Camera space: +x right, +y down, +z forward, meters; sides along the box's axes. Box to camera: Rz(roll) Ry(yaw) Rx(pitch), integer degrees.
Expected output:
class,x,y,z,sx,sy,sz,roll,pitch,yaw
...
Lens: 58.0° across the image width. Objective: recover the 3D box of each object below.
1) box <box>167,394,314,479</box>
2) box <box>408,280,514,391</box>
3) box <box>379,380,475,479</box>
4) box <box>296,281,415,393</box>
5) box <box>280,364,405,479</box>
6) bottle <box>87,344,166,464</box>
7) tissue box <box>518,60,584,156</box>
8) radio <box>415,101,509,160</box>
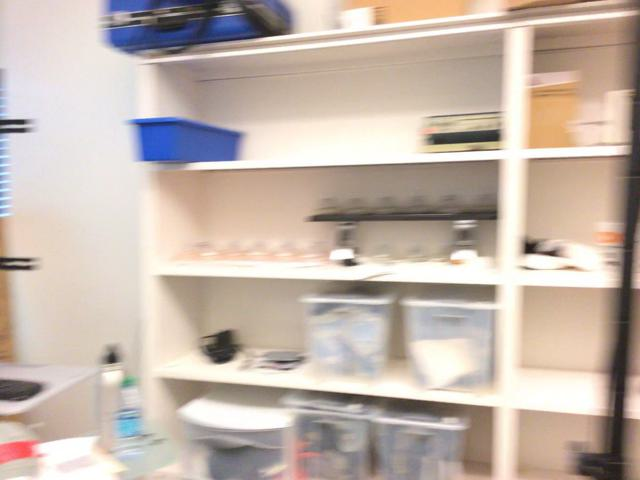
class,x,y,z,sx,sy,sz,roll,pitch,yaw
box,-0.270,0.720,2.050,0.400,0.240,0.320,-3,1,19
box,0.460,0.290,1.840,0.280,0.280,0.340,-3,1,19
box,0.360,0.660,1.890,0.240,0.310,0.350,-3,1,19
box,0.130,0.310,1.940,0.300,0.300,0.340,-3,1,19
box,0.090,0.640,1.980,0.320,0.340,0.350,-3,1,19
bottle,-0.490,0.410,1.470,0.130,0.270,0.110,-3,1,20
tissue box,0.710,-0.400,1.790,0.170,0.250,0.140,-3,1,19
radio,0.460,-0.340,1.840,0.260,0.120,0.280,-3,1,19
